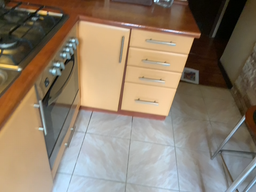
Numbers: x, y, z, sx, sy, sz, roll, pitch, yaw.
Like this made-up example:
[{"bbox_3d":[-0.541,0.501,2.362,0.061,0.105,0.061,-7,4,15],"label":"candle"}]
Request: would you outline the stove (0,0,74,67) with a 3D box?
[{"bbox_3d":[-0.590,-0.340,0.960,0.520,0.030,0.580,10,40,-1],"label":"stove"}]
